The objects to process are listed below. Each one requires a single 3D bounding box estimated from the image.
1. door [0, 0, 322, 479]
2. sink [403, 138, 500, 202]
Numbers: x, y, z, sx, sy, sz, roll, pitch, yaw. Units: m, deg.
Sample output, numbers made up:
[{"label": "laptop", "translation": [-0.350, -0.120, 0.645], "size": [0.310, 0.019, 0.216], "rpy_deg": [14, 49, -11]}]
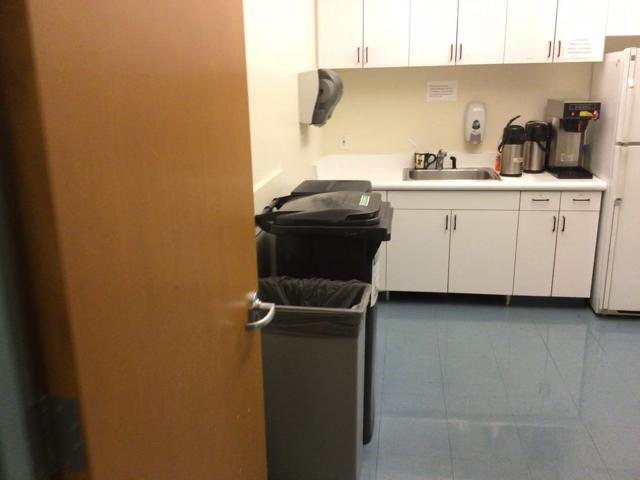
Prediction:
[{"label": "door", "translation": [-0.220, 0.360, 1.310], "size": [0.190, 1.720, 0.920], "rpy_deg": [-2, 17, 11]}, {"label": "sink", "translation": [0.890, -0.470, 3.880], "size": [0.580, 0.320, 0.470], "rpy_deg": [0, 18, 18]}]
